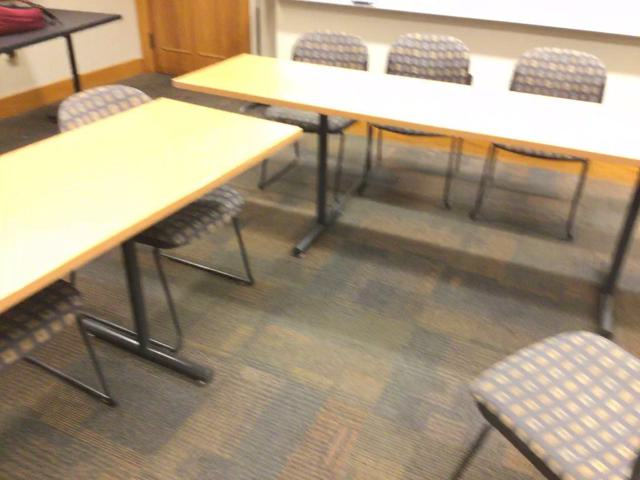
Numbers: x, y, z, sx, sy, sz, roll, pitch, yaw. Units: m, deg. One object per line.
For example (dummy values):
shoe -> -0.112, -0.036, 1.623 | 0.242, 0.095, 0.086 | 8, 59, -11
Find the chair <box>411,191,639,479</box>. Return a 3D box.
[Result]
chair -> 0.620, 0.350, 1.250 | 0.540, 0.650, 0.590 | -13, 32, -24

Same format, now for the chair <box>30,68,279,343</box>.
chair -> -0.530, -0.150, 2.040 | 0.610, 0.740, 0.460 | 14, 32, 22

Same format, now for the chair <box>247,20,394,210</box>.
chair -> 0.020, -0.660, 2.920 | 0.440, 0.730, 0.690 | 14, 32, 22
